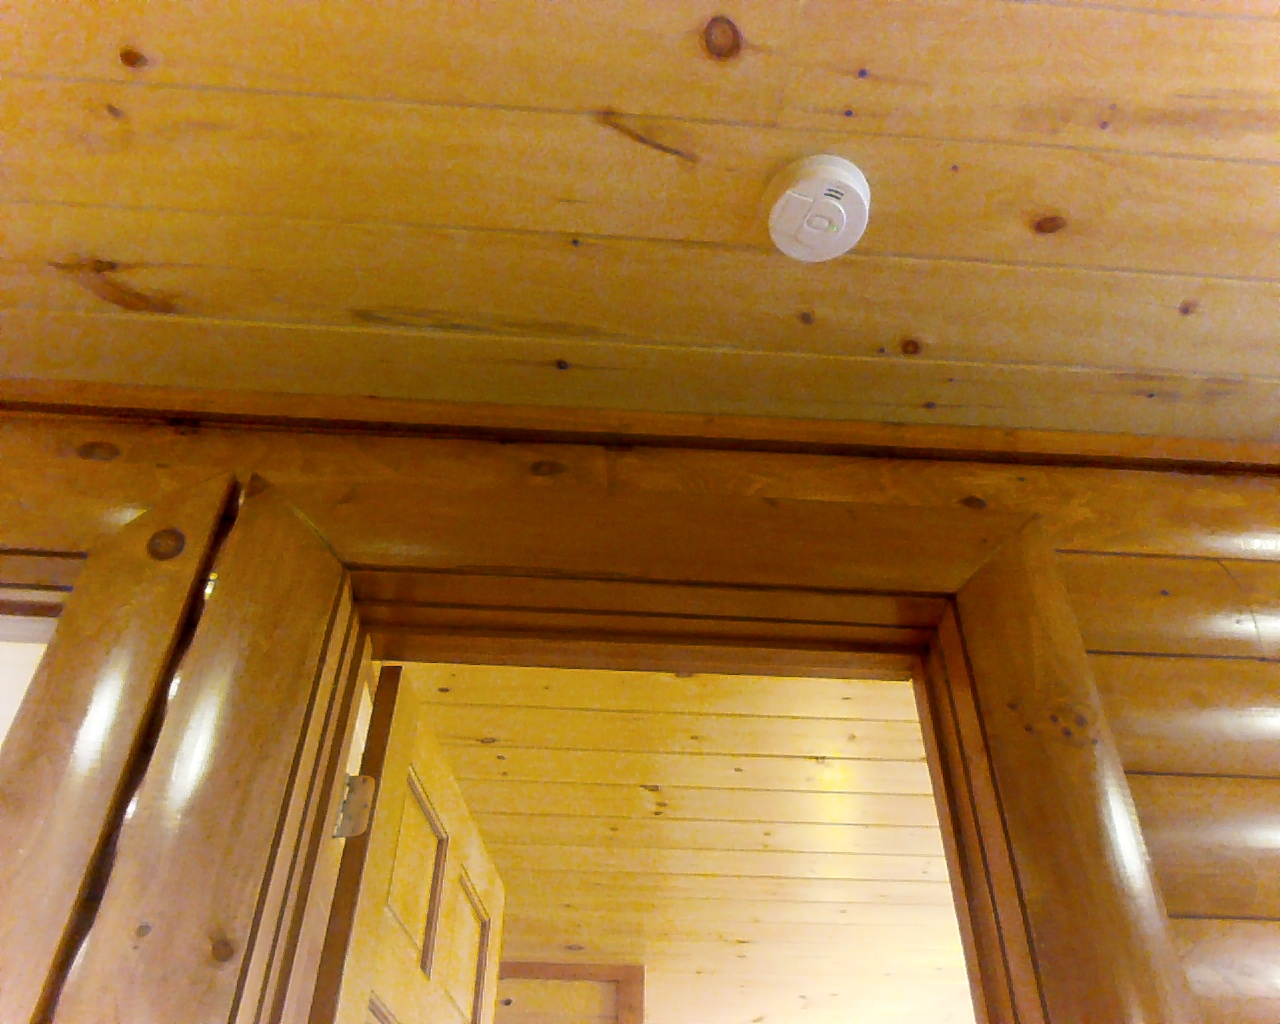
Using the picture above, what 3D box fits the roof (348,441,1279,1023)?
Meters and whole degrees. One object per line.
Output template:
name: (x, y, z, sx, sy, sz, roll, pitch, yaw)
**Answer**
roof: (1.750, 1.280, 3.320, 4.780, 0.110, 3.660, 4, -41, -3)
